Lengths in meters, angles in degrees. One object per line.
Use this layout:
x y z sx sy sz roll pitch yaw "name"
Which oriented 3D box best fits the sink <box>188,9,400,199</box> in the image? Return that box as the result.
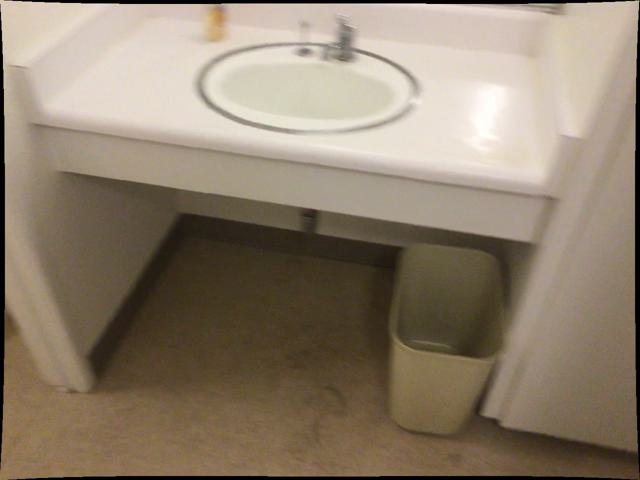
-0.040 -0.341 1.380 0.389 0.230 0.400 10 44 8 "sink"
